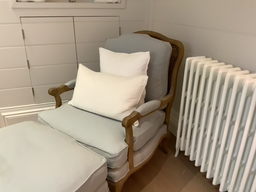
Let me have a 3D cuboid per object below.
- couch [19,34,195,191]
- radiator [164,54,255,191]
[{"bbox_3d":[-0.100,0.070,1.560,0.760,0.880,0.860,18,29,34],"label":"couch"},{"bbox_3d":[0.550,0.200,1.340,0.180,0.740,0.880,-7,24,-18],"label":"radiator"}]
